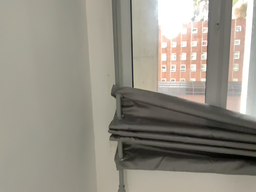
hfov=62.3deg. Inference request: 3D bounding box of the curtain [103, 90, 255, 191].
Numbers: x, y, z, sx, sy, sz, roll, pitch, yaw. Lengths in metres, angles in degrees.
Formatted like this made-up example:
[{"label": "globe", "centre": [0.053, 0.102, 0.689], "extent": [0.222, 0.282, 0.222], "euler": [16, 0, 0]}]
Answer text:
[{"label": "curtain", "centre": [0.810, 0.230, 1.030], "extent": [0.180, 1.910, 0.460], "euler": [-32, -58, -72]}]
